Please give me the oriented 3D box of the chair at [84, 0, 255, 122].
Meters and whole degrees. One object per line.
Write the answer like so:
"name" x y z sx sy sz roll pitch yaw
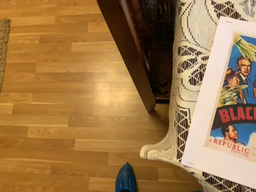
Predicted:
"chair" 0.250 -0.190 0.700 0.470 0.910 0.430 2 78 7
